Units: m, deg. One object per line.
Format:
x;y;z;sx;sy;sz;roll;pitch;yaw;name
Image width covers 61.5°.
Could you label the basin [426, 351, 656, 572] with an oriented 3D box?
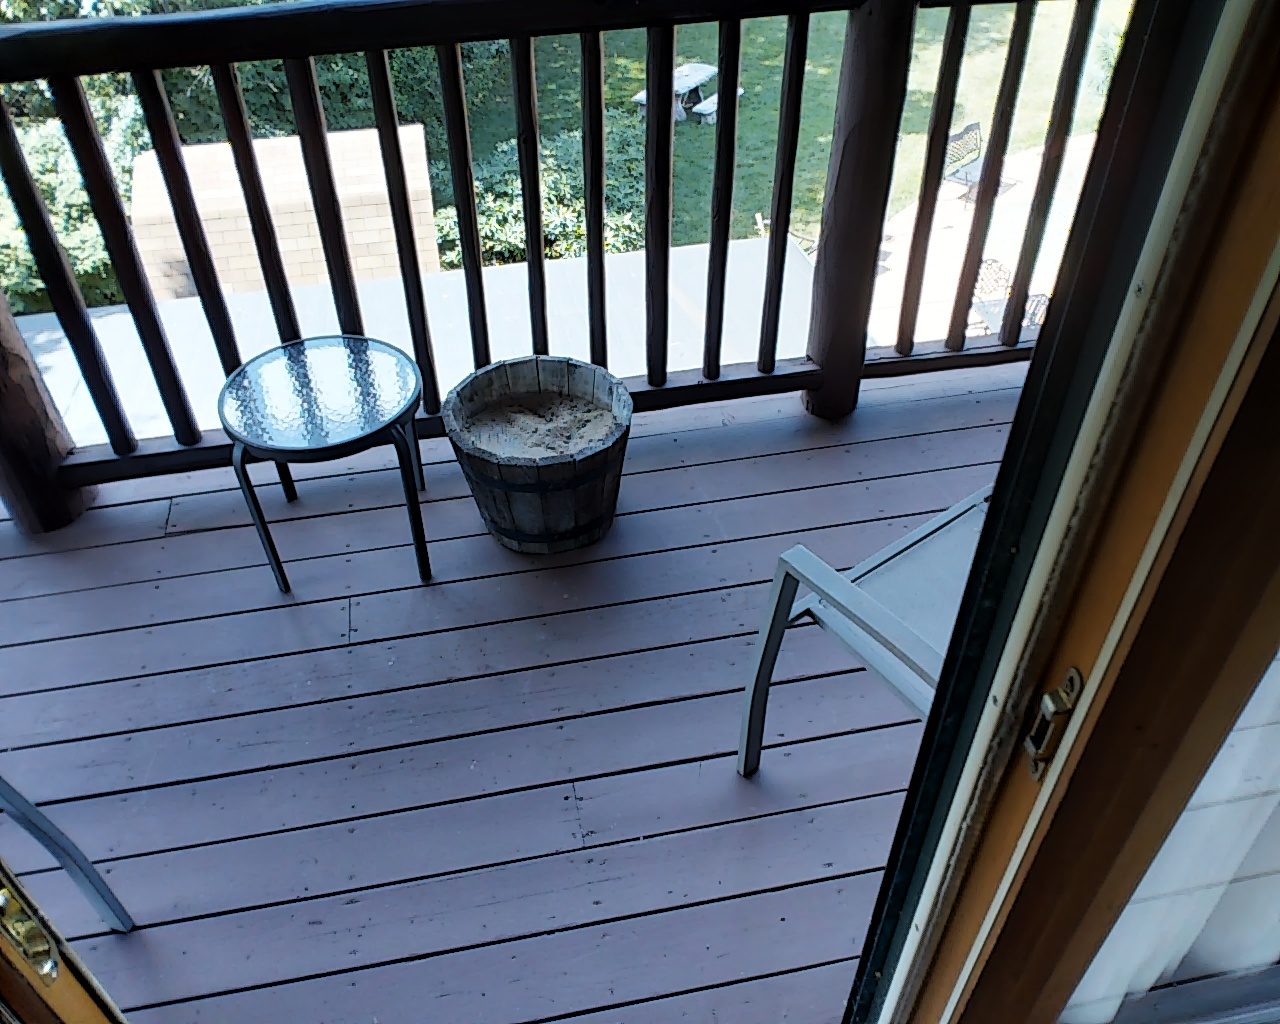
-0.220;-0.120;2.400;0.440;0.280;0.340;-9;42;-9;basin
